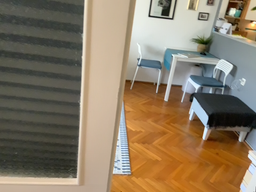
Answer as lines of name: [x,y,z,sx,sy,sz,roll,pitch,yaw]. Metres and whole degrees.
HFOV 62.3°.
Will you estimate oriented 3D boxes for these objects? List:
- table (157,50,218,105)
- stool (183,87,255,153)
table: [1.020,-0.340,3.800,0.790,0.750,0.530,6,23,-5]
stool: [1.150,0.280,2.760,0.580,0.490,0.740,6,23,-4]
